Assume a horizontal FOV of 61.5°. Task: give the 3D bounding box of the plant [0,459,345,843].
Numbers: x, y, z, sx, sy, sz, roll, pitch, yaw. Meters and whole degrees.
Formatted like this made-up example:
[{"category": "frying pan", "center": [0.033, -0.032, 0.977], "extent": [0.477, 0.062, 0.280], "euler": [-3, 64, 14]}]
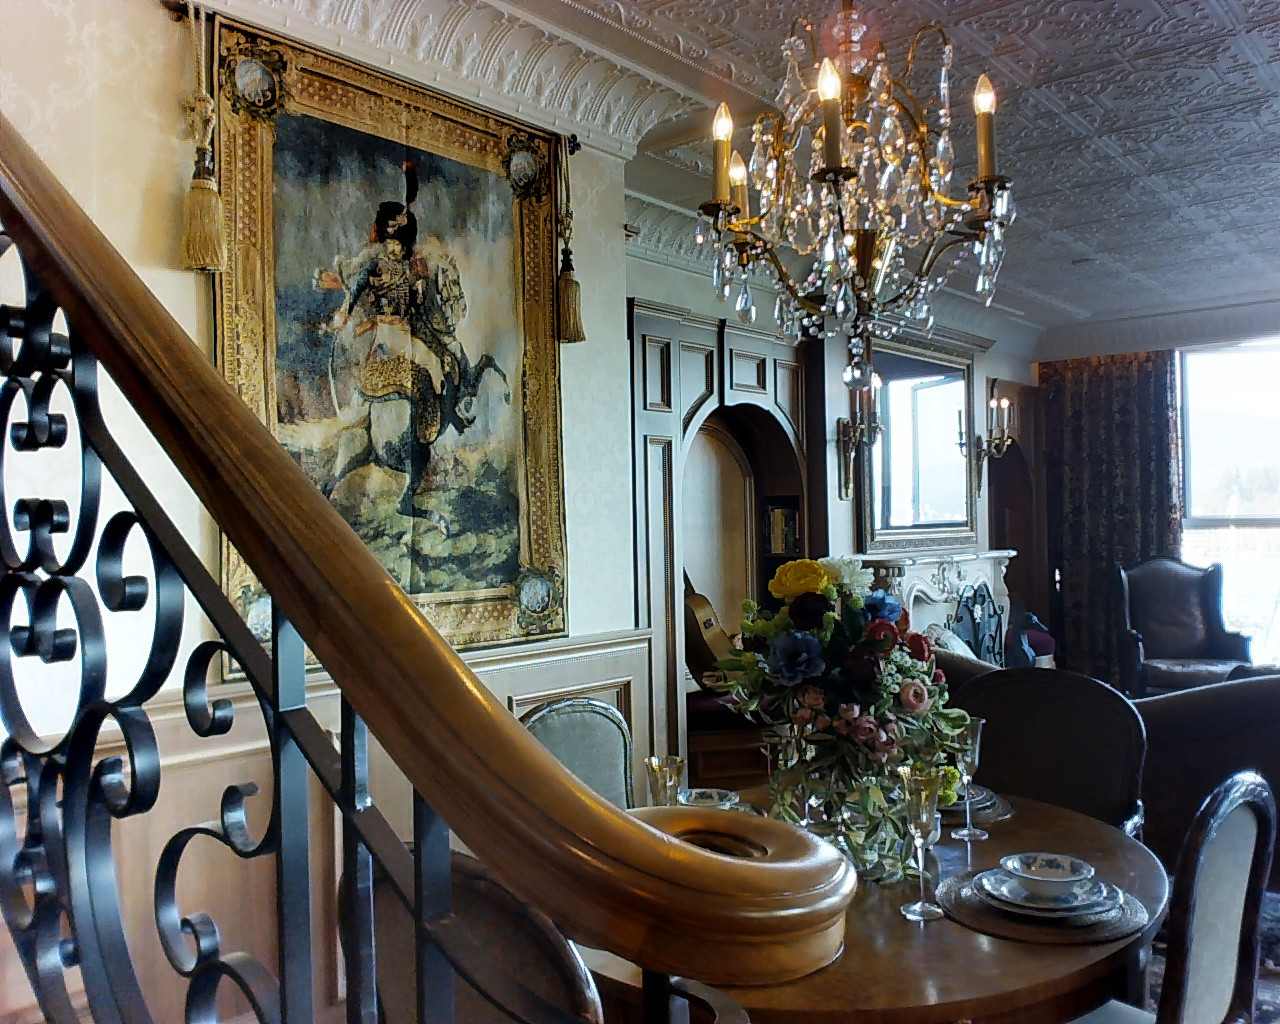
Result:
[{"category": "plant", "center": [-0.930, 0.230, 2.160], "extent": [0.550, 0.630, 0.620], "euler": [-1, -1, -25]}]
